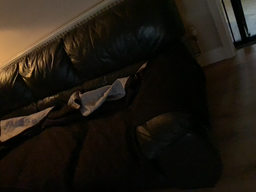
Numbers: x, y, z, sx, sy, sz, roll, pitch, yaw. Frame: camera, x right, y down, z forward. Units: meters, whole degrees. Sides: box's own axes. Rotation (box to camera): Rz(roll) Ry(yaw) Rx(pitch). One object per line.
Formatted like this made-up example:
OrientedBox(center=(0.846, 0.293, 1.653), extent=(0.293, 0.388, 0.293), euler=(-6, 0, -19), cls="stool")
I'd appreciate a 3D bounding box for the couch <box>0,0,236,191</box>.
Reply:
OrientedBox(center=(-0.530, 0.180, 1.670), extent=(2.200, 0.880, 1.090), euler=(-18, 41, 28), cls="couch")
